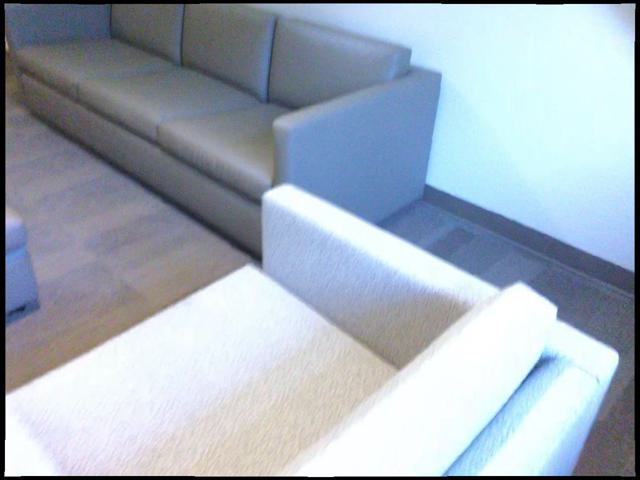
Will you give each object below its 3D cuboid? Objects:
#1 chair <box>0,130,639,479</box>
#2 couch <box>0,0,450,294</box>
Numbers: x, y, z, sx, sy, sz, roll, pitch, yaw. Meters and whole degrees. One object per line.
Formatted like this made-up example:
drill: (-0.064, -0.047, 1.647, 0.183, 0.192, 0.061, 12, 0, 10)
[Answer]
chair: (-0.120, 0.411, 1.090, 0.949, 0.721, 1.009, 29, 42, 33)
couch: (-0.659, -0.742, 2.770, 2.288, 0.711, 0.909, 29, 42, 33)
